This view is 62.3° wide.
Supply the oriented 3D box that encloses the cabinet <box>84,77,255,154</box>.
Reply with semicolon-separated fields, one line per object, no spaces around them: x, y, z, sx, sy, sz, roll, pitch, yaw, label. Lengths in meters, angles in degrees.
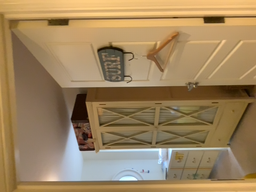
0.490;0.300;2.930;0.440;1.970;1.040;-92;1;-47;cabinet
